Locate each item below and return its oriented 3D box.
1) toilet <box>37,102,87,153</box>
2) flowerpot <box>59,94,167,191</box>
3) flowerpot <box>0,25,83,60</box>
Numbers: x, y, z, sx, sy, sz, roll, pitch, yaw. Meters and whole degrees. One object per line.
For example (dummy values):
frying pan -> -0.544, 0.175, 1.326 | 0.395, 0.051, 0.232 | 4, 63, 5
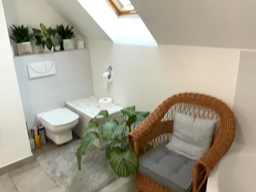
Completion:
toilet -> -0.860, 0.380, 2.760 | 0.380, 0.400, 0.540 | -18, 26, -40
flowerpot -> -0.130, 0.450, 2.300 | 0.690, 0.600, 0.890 | 17, 26, 41
flowerpot -> -1.060, -0.710, 2.720 | 0.970, 0.350, 0.180 | -19, 26, -41
